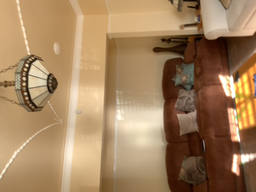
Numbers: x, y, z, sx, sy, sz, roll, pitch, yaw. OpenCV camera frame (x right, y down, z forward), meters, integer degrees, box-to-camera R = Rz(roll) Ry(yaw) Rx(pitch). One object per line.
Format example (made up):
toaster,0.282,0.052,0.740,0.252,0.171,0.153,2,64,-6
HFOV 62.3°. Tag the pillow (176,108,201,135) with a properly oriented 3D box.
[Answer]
pillow,1.050,0.450,3.690,0.230,0.360,0.390,34,-128,-57

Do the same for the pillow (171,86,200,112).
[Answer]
pillow,1.050,0.070,3.880,0.240,0.400,0.350,19,-119,-50

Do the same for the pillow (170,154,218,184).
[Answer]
pillow,1.020,1.150,3.350,0.280,0.670,0.410,8,-111,-28
